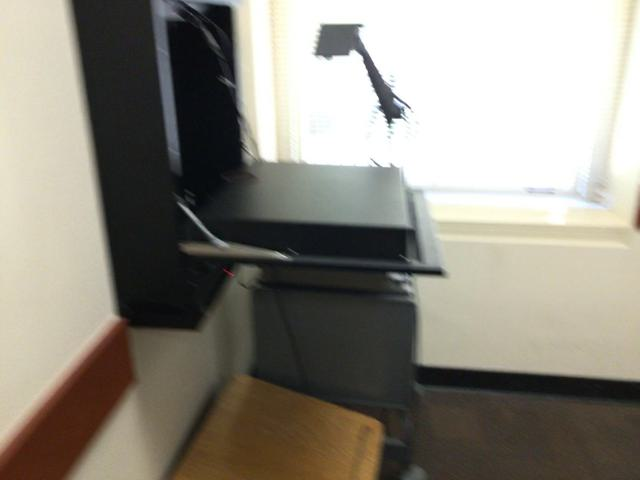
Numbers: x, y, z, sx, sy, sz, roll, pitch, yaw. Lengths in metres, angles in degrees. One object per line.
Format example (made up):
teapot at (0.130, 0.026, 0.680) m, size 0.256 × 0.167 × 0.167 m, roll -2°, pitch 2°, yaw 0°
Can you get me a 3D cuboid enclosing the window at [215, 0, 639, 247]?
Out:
window at (0.450, -0.950, 1.920) m, size 1.450 × 1.810 × 0.710 m, roll 0°, pitch 19°, yaw 13°
